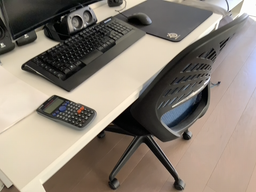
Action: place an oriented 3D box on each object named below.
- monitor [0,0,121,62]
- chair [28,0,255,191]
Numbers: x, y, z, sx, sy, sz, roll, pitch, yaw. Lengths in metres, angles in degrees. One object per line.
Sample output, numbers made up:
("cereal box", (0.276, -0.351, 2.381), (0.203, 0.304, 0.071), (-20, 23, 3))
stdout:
("monitor", (-0.220, -0.470, 0.830), (0.040, 0.440, 0.630), (23, 46, 23))
("chair", (0.090, 0.000, 1.070), (0.610, 0.920, 0.620), (26, 48, 25))
